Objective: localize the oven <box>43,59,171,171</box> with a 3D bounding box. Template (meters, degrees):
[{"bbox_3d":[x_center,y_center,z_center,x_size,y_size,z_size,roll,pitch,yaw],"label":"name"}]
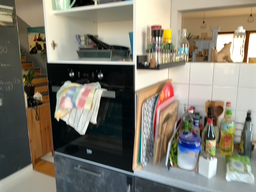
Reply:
[{"bbox_3d":[-0.100,0.040,1.460,0.610,0.550,0.610,6,14,26],"label":"oven"}]

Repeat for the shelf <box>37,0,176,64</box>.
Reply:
[{"bbox_3d":[-0.100,-0.600,1.330,0.650,0.740,0.600,6,14,26],"label":"shelf"}]
